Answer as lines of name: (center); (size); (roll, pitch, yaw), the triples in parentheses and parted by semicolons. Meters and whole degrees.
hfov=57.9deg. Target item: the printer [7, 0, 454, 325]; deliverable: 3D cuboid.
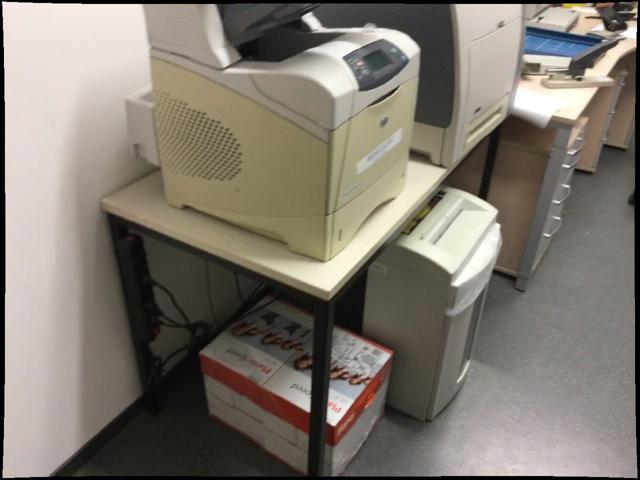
printer: (-0.130, -0.340, 1.180); (0.580, 0.600, 0.630); (20, 38, 22)

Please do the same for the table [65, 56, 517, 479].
table: (0.030, 0.010, 1.780); (0.680, 0.710, 1.250); (20, 38, 22)
